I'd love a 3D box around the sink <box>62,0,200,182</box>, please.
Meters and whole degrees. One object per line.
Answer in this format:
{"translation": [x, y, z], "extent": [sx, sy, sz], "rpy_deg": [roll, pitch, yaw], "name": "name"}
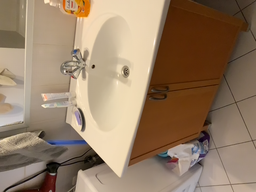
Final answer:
{"translation": [-0.060, -0.110, 0.990], "extent": [0.520, 0.200, 0.790], "rpy_deg": [32, 119, 40], "name": "sink"}
